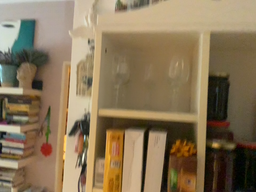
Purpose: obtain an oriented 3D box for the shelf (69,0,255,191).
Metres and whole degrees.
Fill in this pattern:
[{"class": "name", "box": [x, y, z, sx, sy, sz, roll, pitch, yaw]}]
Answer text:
[{"class": "shelf", "box": [0.250, 0.010, 0.550, 0.760, 0.470, 0.140, 3, -2, 9]}]
